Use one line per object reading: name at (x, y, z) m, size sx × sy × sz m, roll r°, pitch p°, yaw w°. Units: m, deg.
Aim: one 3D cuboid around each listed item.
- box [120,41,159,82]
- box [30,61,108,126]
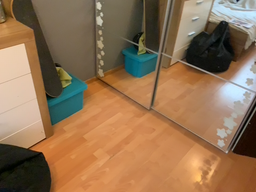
box at (0.130, -0.430, 2.570) m, size 0.350 × 0.320 × 0.270 m, roll 32°, pitch 44°, yaw 30°
box at (-0.520, -0.050, 1.970) m, size 0.340 × 0.290 × 0.570 m, roll 33°, pitch 45°, yaw 30°
